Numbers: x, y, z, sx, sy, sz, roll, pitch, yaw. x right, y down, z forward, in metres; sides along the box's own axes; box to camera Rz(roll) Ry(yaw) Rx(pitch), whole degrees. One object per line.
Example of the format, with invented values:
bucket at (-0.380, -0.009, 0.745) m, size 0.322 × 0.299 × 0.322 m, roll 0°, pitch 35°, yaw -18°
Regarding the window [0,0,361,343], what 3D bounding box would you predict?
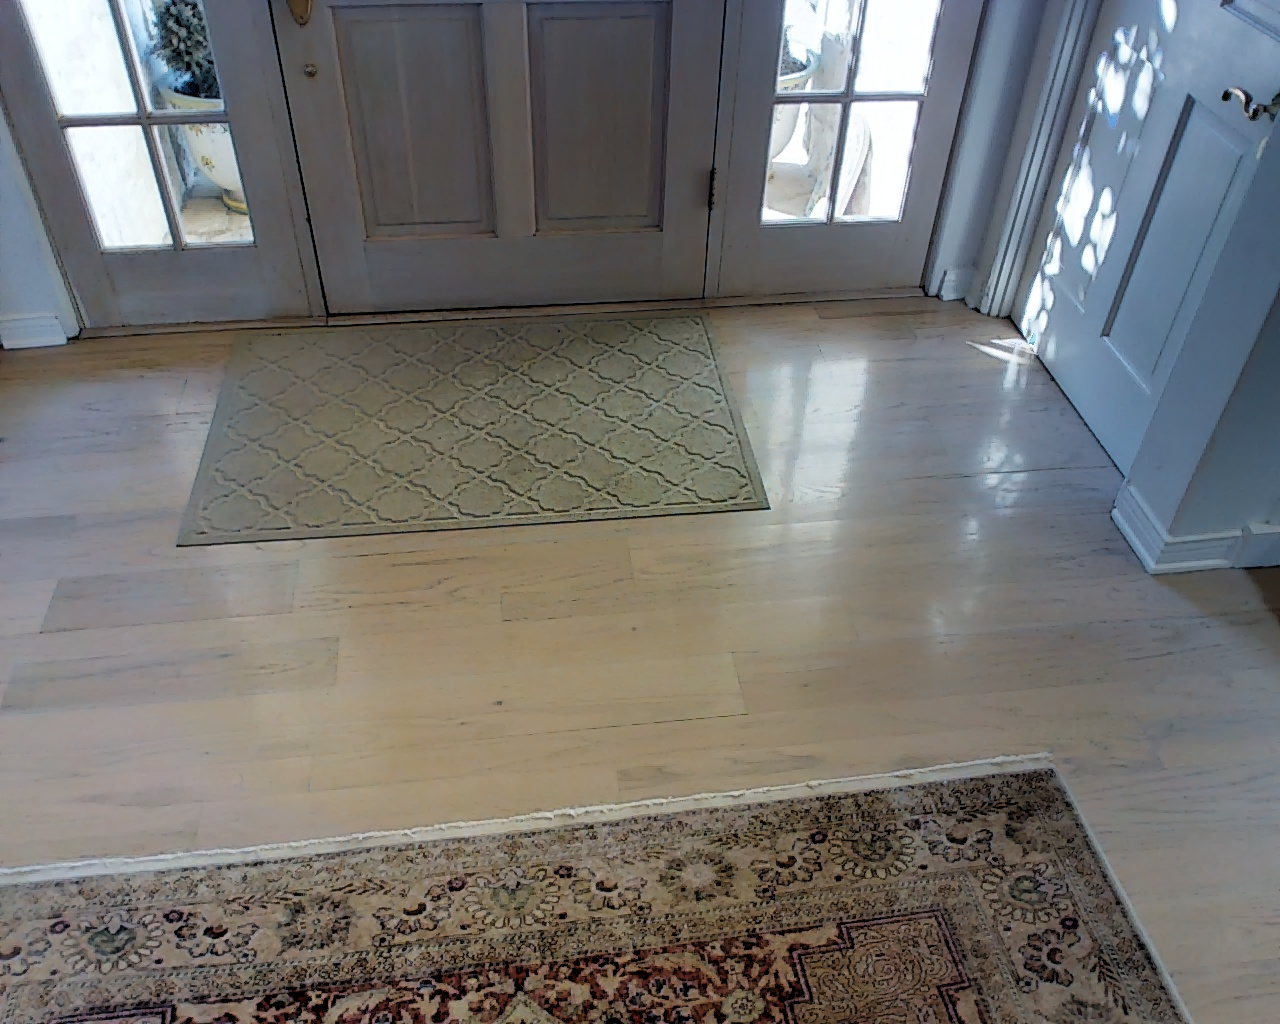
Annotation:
window at (-1.150, -1.440, 2.180) m, size 0.770 × 2.500 × 0.060 m, roll -4°, pitch 42°, yaw -6°
